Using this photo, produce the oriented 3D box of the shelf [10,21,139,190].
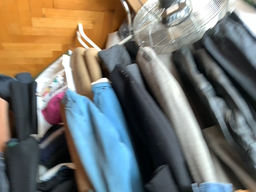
[{"bbox_3d":[-0.370,0.090,1.480,0.370,0.970,0.660,-30,146,19],"label":"shelf"}]
